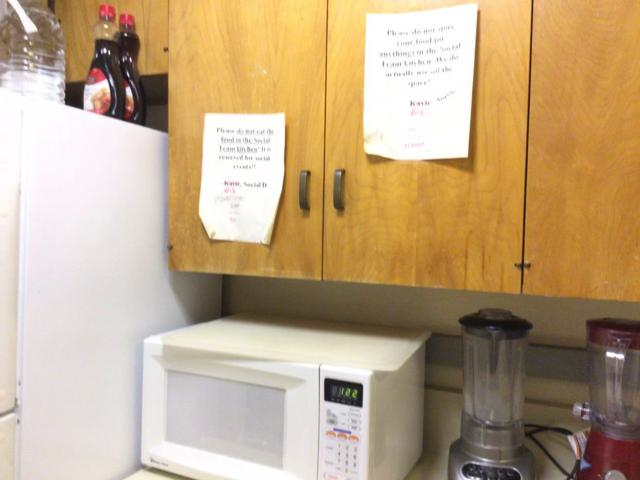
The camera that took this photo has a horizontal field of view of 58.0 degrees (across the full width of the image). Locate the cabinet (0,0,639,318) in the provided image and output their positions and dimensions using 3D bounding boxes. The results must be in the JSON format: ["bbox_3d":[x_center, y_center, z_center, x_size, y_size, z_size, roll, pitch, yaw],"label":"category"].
[{"bbox_3d":[0.010,-0.380,1.190,2.380,0.960,0.140,2,2,23],"label":"cabinet"}]

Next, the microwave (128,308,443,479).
[{"bbox_3d":[-0.060,0.360,1.330,0.590,0.310,0.420,2,2,23],"label":"microwave"}]
